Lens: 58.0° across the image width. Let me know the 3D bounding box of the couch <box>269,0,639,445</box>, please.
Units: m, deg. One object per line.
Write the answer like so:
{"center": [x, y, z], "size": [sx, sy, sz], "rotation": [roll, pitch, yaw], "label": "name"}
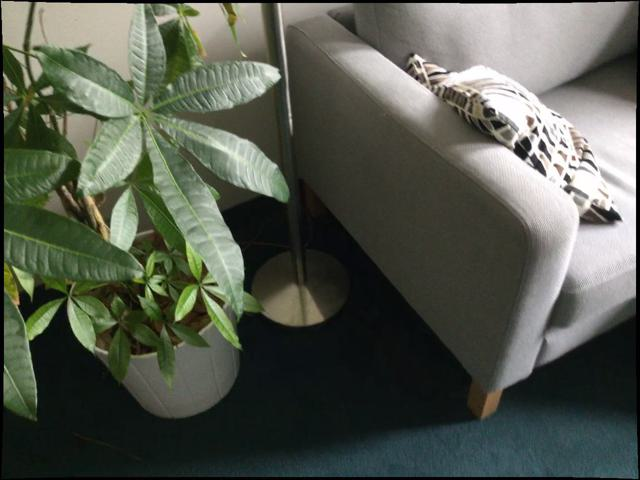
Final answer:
{"center": [0.539, -0.271, 1.420], "size": [1.028, 0.771, 0.921], "rotation": [-19, 50, -13], "label": "couch"}
